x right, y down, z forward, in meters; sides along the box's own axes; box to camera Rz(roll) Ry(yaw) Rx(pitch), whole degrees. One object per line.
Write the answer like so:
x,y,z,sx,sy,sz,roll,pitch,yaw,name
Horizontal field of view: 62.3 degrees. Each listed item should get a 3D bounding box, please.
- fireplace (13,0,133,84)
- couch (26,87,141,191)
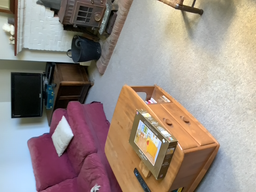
-0.610,-0.950,2.260,0.540,1.030,1.770,63,141,34,fireplace
-0.660,0.930,2.640,1.800,0.870,1.120,64,141,33,couch
